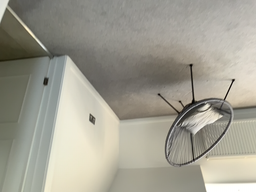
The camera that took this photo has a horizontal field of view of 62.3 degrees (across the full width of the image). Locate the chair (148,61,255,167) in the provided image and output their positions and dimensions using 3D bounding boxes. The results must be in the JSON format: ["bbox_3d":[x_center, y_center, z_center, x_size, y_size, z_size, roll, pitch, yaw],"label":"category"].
[{"bbox_3d":[0.750,0.260,2.330,0.700,0.840,0.790,12,150,-23],"label":"chair"}]
